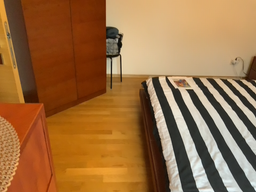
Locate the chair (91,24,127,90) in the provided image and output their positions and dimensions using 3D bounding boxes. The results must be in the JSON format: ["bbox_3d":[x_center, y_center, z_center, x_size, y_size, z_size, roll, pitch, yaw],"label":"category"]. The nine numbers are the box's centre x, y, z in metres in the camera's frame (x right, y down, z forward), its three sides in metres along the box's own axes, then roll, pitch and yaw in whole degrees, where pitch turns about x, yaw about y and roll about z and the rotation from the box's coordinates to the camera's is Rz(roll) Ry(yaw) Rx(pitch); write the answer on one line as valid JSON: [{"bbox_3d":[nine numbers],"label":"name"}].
[{"bbox_3d":[-0.260,-0.560,2.970,0.280,0.770,0.480,14,31,18],"label":"chair"}]
